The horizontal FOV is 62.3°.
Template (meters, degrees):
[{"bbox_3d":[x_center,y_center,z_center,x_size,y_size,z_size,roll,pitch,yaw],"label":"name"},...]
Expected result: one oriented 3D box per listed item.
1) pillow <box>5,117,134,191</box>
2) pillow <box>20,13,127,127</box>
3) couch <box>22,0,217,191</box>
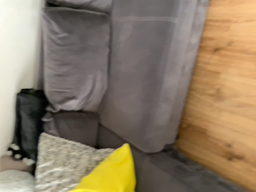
[{"bbox_3d":[-0.390,0.580,1.420,0.670,0.530,0.180,-48,-19,0],"label":"pillow"},{"bbox_3d":[-0.370,-0.170,1.500,0.590,0.490,0.230,-65,12,5],"label":"pillow"},{"bbox_3d":[-0.150,-0.130,1.570,1.020,0.760,2.800,21,106,46],"label":"couch"}]
